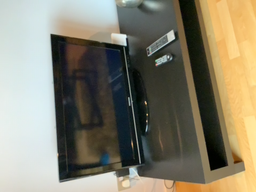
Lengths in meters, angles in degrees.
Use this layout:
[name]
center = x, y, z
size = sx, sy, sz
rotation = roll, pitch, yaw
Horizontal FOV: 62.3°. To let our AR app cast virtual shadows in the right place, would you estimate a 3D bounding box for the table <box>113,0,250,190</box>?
[table]
center = 0.270, -0.200, 1.470
size = 0.610, 0.340, 1.470
rotation = -25, 69, 53
